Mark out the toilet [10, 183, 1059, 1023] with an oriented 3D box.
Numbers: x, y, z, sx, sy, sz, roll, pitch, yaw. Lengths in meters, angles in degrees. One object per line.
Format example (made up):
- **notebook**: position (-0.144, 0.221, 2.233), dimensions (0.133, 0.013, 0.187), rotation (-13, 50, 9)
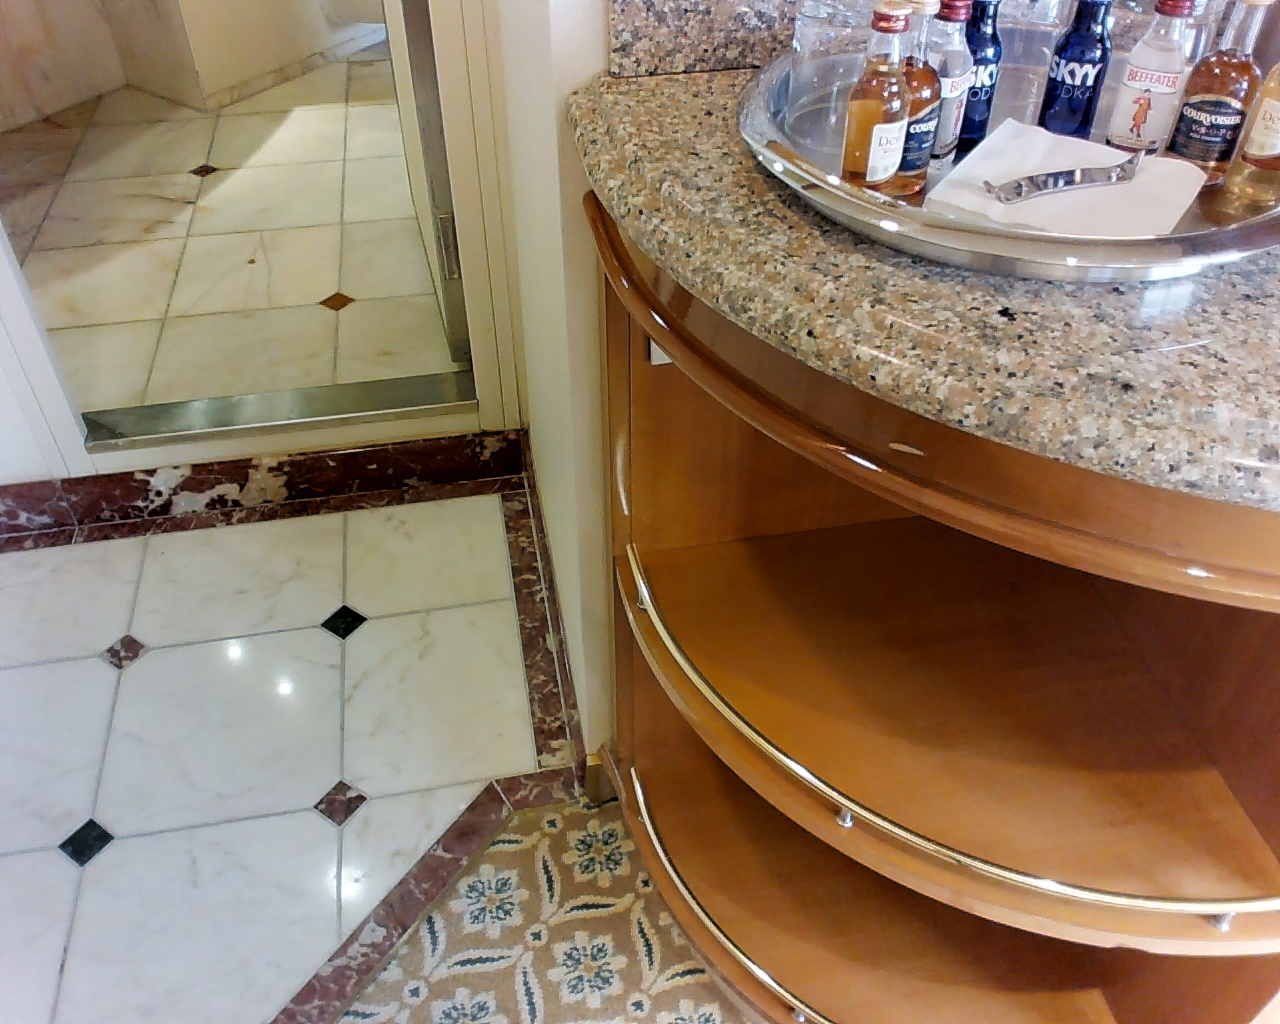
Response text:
- **toilet**: position (-0.040, 0.130, 0.930), dimensions (0.480, 0.530, 0.570), rotation (25, 48, 26)
